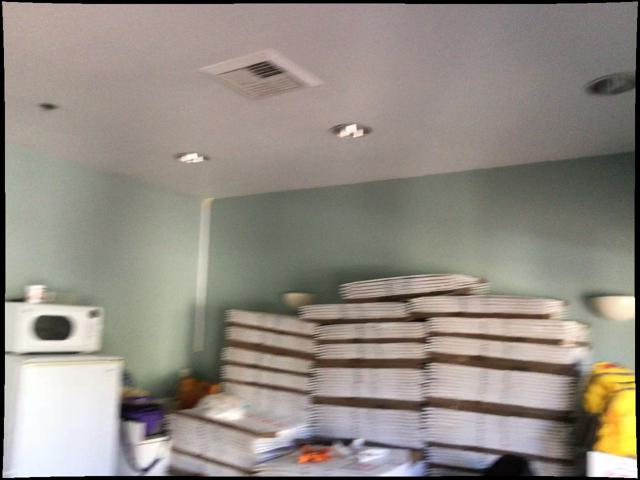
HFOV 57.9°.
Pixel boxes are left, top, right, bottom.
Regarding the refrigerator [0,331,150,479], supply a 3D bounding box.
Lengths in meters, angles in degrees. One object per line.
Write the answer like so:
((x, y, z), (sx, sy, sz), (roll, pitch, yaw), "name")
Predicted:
((-1.568, 1.021, 3.380), (0.650, 0.911, 0.820), (-3, -8, 37), "refrigerator")
